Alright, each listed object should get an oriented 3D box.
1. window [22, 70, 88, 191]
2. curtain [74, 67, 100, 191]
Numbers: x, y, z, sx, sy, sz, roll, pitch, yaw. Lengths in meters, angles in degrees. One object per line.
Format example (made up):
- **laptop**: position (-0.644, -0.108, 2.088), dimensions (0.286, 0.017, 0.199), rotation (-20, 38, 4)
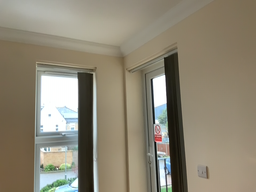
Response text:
- **window**: position (-0.810, 0.530, 2.400), dimensions (0.670, 1.610, 0.110), rotation (1, -8, -29)
- **curtain**: position (-0.450, 0.460, 2.300), dimensions (0.230, 1.540, 0.140), rotation (1, -8, -28)
